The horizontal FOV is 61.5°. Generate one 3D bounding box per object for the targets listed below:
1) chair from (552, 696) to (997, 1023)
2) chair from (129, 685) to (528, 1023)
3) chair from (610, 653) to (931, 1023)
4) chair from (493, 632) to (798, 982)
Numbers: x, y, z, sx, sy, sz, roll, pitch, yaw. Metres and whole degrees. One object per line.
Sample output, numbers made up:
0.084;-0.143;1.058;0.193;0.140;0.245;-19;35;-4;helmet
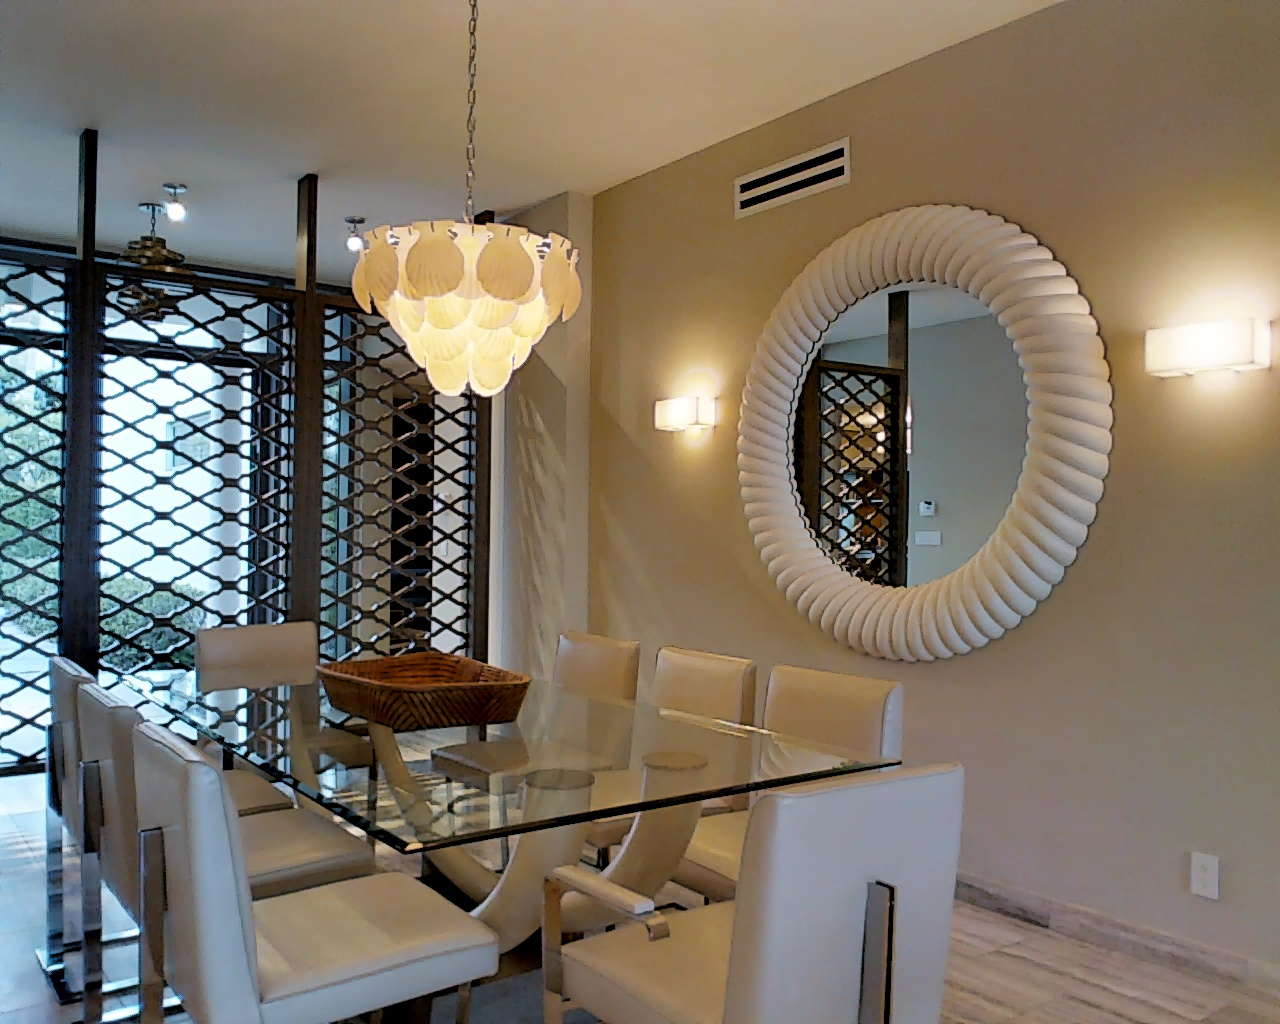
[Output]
0.230;0.850;2.020;0.520;0.870;0.650;1;0;-36;chair
-0.640;0.840;2.200;0.640;0.850;0.510;1;0;-37;chair
0.350;0.860;2.920;0.660;0.850;0.550;1;0;-36;chair
0.010;0.850;3.380;0.710;0.850;0.640;1;0;-36;chair
